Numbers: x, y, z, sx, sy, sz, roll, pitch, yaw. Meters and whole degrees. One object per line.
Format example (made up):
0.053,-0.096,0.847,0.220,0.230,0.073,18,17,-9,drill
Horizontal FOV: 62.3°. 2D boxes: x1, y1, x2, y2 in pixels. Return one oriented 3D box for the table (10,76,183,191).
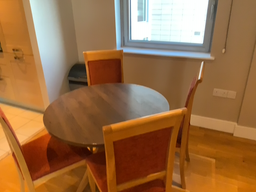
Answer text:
-0.150,0.400,1.750,0.940,0.770,0.920,10,27,22,table
